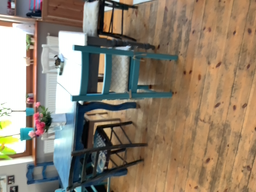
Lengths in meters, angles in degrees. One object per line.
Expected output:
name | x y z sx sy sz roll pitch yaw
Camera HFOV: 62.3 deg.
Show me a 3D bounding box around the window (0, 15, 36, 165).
window | -2.370 -0.030 3.300 0.320 1.660 2.440 29 116 55
